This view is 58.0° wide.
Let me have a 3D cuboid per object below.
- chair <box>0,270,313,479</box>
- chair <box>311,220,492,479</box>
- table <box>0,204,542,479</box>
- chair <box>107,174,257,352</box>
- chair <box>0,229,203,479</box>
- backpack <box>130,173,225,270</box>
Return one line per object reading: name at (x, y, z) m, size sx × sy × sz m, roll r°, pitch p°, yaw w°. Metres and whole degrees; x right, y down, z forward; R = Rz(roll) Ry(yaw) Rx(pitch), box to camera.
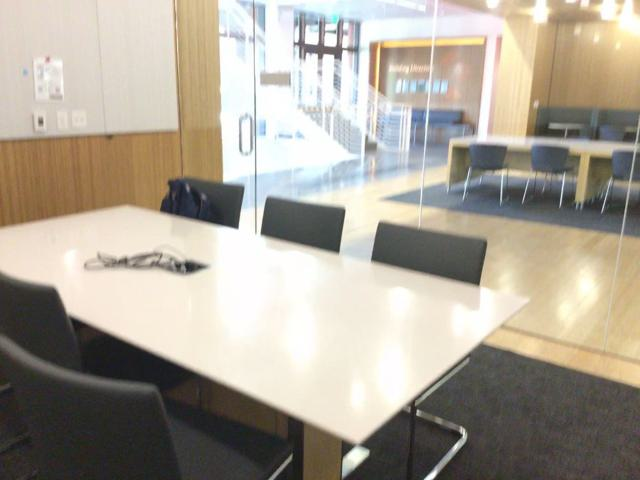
chair at (-0.420, 0.570, 1.520) m, size 0.560 × 0.760 × 0.620 m, roll 9°, pitch 18°, yaw 28°
chair at (0.310, 0.380, 2.220) m, size 0.430 × 0.770 × 0.560 m, roll 12°, pitch 19°, yaw 36°
table at (-0.490, 0.460, 2.330) m, size 2.270 × 0.730 × 1.190 m, roll 12°, pitch 19°, yaw 36°
chair at (-0.750, 0.090, 3.250) m, size 0.500 × 0.800 × 0.600 m, roll 12°, pitch 19°, yaw 36°
chair at (-0.780, 0.430, 1.980) m, size 0.500 × 0.780 × 0.510 m, roll 11°, pitch 19°, yaw 33°
backpack at (-0.790, -0.120, 3.250) m, size 0.320 × 0.440 × 0.380 m, roll 12°, pitch 19°, yaw 36°
